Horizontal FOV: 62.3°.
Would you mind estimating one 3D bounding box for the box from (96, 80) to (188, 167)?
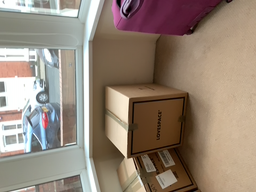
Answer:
[{"bbox_3d":[0.090,0.180,1.800,0.470,0.590,0.530,28,119,58],"label":"box"}]
